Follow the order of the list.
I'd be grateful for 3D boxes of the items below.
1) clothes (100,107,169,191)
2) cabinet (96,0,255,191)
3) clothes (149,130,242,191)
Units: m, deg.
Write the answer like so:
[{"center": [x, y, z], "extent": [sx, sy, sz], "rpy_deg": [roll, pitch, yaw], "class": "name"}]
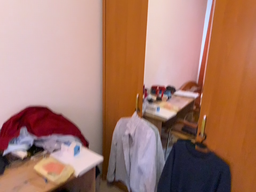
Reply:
[{"center": [0.020, 0.590, 1.900], "extent": [0.610, 0.840, 0.160], "rpy_deg": [17, 23, 38], "class": "clothes"}, {"center": [0.520, 0.060, 1.880], "extent": [1.570, 2.000, 0.750], "rpy_deg": [18, 23, 39], "class": "cabinet"}, {"center": [0.440, 0.760, 1.600], "extent": [0.570, 0.840, 0.160], "rpy_deg": [18, 23, 39], "class": "clothes"}]
